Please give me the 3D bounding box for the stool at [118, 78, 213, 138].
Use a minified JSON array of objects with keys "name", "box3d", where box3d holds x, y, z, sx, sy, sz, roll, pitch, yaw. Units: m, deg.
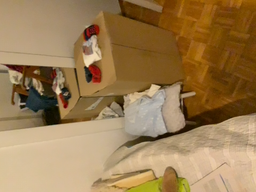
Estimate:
[{"name":"stool","box3d":[0.220,0.090,1.370,0.460,0.330,0.290,-18,78,49]}]
